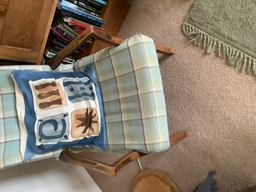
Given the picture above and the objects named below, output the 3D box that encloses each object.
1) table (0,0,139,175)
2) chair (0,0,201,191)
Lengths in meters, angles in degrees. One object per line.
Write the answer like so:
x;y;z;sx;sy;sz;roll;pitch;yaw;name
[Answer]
-0.560;-0.130;1.350;0.360;0.760;1.290;41;116;29;table
-0.170;0.040;1.070;0.750;0.760;0.540;-8;87;38;chair
